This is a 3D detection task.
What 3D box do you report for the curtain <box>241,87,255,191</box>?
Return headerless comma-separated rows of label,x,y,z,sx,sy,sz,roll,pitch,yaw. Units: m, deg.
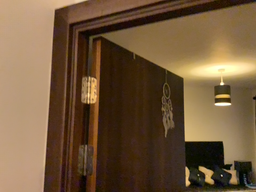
curtain,2.530,0.840,4.300,0.140,2.030,0.320,2,-8,-14
